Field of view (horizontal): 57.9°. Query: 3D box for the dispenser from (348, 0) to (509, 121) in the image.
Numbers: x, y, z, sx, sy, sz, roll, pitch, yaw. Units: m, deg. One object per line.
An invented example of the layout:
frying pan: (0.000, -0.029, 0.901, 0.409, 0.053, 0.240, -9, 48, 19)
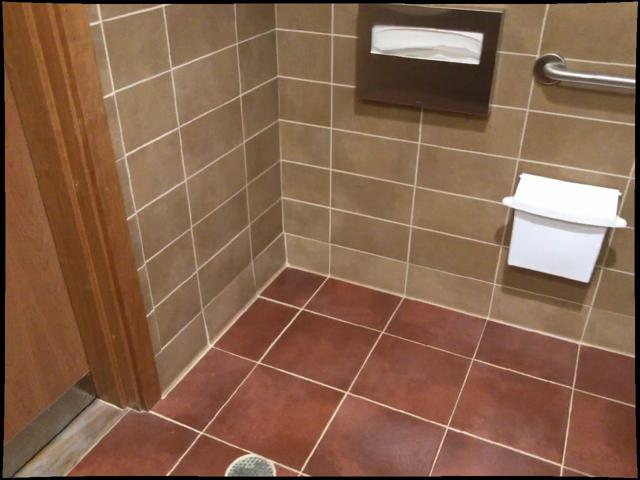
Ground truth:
dispenser: (0.290, -0.521, 1.640, 0.420, 0.290, 0.080, 14, 36, 22)
